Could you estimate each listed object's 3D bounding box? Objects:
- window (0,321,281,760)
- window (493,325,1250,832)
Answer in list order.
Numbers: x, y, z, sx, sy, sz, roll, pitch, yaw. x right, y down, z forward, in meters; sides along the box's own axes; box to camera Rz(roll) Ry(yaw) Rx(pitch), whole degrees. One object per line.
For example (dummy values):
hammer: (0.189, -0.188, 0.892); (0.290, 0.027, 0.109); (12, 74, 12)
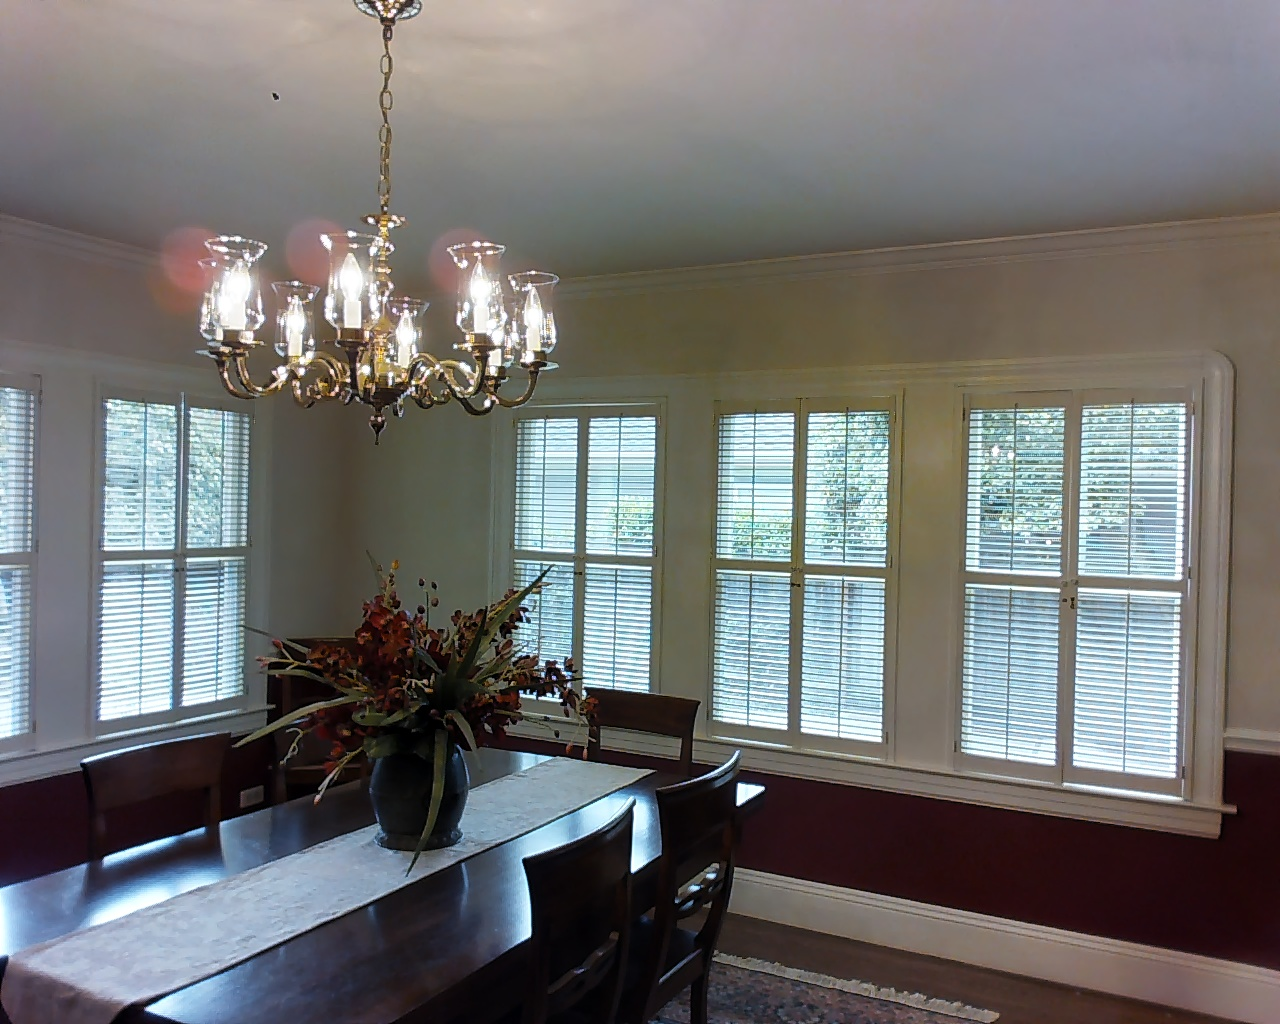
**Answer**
window: (-2.050, 0.100, 3.900); (0.060, 1.480, 1.860); (1, 0, 28)
window: (0.640, 0.180, 4.040); (2.840, 1.580, 0.050); (1, 0, 28)
